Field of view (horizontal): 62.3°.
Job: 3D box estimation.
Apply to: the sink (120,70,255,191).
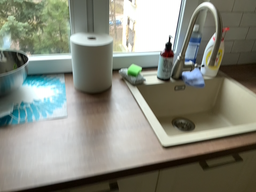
[{"bbox_3d":[0.310,0.100,0.960,0.580,0.230,0.450,-7,33,-17],"label":"sink"}]
